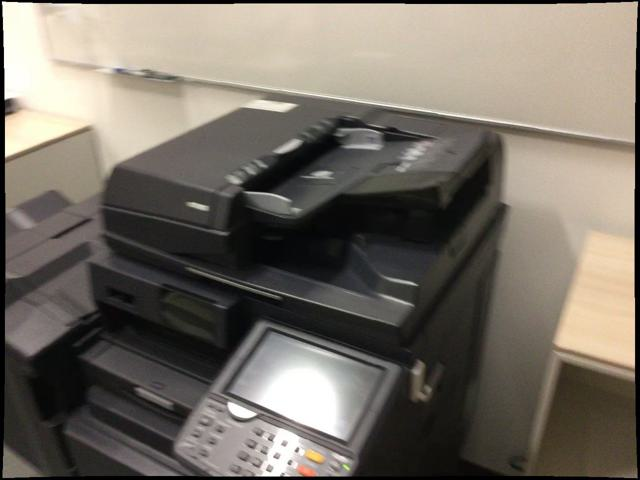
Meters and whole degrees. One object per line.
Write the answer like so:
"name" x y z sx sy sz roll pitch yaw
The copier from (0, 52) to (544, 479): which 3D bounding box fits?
"copier" -0.240 0.300 1.320 1.119 1.161 0.730 15 36 25
